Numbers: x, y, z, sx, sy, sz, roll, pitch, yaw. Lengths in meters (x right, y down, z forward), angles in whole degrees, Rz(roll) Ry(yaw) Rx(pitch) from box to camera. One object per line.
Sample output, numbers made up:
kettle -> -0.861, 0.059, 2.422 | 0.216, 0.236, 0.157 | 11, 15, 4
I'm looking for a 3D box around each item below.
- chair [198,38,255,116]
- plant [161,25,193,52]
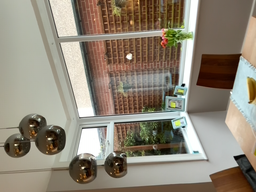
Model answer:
chair -> 1.160, -0.190, 1.780 | 0.510, 0.940, 0.420 | -94, 0, -53
plant -> 0.590, -0.710, 2.610 | 0.180, 0.340, 0.250 | -94, 0, -52
